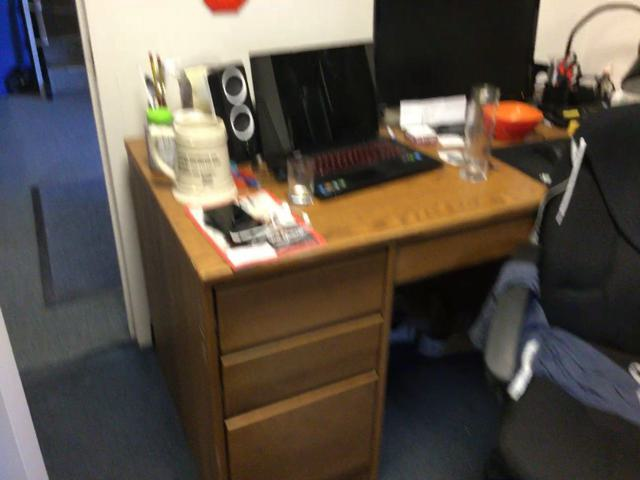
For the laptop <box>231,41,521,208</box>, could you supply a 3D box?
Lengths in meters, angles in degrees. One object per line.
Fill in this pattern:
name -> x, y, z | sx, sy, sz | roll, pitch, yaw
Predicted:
laptop -> 0.120, -0.330, 1.490 | 0.570, 0.260, 0.440 | -12, 30, -23
